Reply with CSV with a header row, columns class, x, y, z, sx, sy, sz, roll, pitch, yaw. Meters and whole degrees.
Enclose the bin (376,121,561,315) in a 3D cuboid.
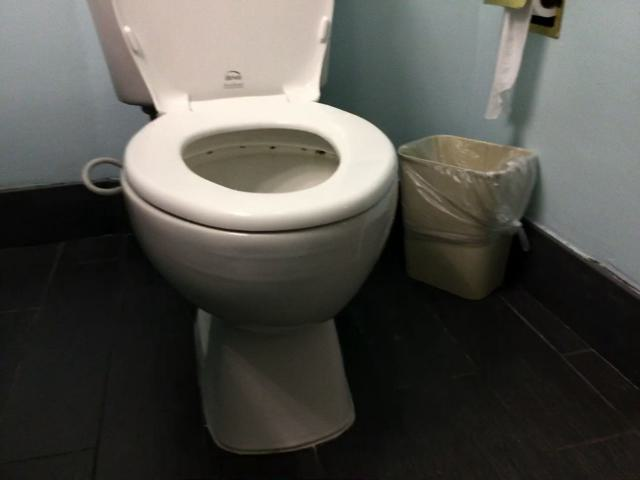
class,x,y,z,sx,sy,sz,roll,pitch,yaw
bin,0.270,-0.060,1.150,0.230,0.270,0.290,-9,26,-13
